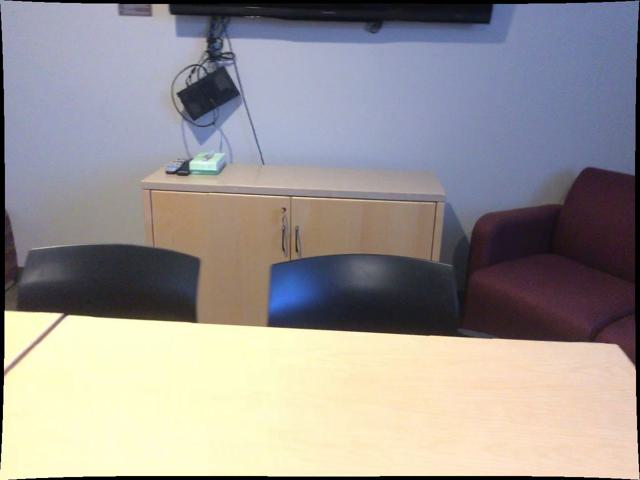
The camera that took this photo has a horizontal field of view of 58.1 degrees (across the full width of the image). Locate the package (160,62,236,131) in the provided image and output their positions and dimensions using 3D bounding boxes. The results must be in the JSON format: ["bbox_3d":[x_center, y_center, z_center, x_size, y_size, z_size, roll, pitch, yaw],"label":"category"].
[{"bbox_3d":[-0.539,-0.641,2.580,0.300,0.280,0.120,2,19,1],"label":"package"}]

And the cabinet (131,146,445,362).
[{"bbox_3d":[-0.130,0.040,2.590,1.208,0.791,0.520,2,19,1],"label":"cabinet"}]
